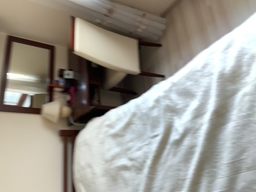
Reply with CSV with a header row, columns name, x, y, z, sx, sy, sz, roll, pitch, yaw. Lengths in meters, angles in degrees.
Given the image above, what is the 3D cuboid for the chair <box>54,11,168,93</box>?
name,x,y,z,sx,sy,sz,roll,pitch,yaw
chair,-0.170,-0.370,2.160,0.540,0.980,0.410,-29,60,52
